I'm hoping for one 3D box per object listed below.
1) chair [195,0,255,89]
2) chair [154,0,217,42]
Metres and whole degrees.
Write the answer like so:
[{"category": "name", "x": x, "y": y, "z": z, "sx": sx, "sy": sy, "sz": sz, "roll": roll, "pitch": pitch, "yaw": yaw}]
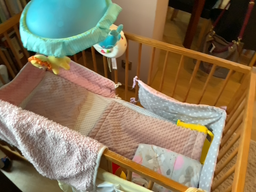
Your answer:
[{"category": "chair", "x": 0.960, "y": -0.660, "z": 1.870, "sx": 0.430, "sy": 1.000, "sz": 0.600, "roll": 12, "pitch": 50, "yaw": 7}, {"category": "chair", "x": 0.690, "y": -1.190, "z": 2.310, "sx": 0.590, "sy": 1.000, "sz": 0.390, "roll": 21, "pitch": 52, "yaw": 14}]
